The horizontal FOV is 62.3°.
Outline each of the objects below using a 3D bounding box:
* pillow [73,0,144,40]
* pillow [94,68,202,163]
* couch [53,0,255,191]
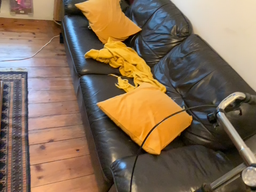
[{"bbox_3d":[-0.190,-0.730,1.940,0.480,0.150,0.490,-11,54,-29],"label":"pillow"},{"bbox_3d":[0.130,0.080,1.360,0.500,0.130,0.470,-26,62,-37],"label":"pillow"},{"bbox_3d":[0.040,-0.230,1.750,0.950,0.780,2.160,-6,52,-25],"label":"couch"}]
